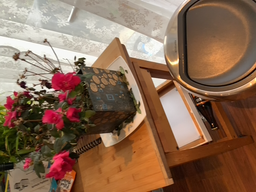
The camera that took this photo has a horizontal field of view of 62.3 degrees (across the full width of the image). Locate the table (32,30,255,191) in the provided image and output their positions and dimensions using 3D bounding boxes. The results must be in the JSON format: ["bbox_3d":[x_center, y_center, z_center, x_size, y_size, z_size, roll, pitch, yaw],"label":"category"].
[{"bbox_3d":[0.060,0.230,1.270,0.960,0.860,0.540,-38,62,40],"label":"table"}]
